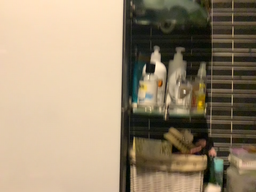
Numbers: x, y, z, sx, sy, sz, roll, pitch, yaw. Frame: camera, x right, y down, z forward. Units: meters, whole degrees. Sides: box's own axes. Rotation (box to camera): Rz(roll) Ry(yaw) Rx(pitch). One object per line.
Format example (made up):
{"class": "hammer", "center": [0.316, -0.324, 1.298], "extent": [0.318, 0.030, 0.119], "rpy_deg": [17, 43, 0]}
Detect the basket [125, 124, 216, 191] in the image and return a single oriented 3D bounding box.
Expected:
{"class": "basket", "center": [0.130, 0.220, 0.720], "extent": [0.270, 0.220, 0.160], "rpy_deg": [1, 0, 1]}
